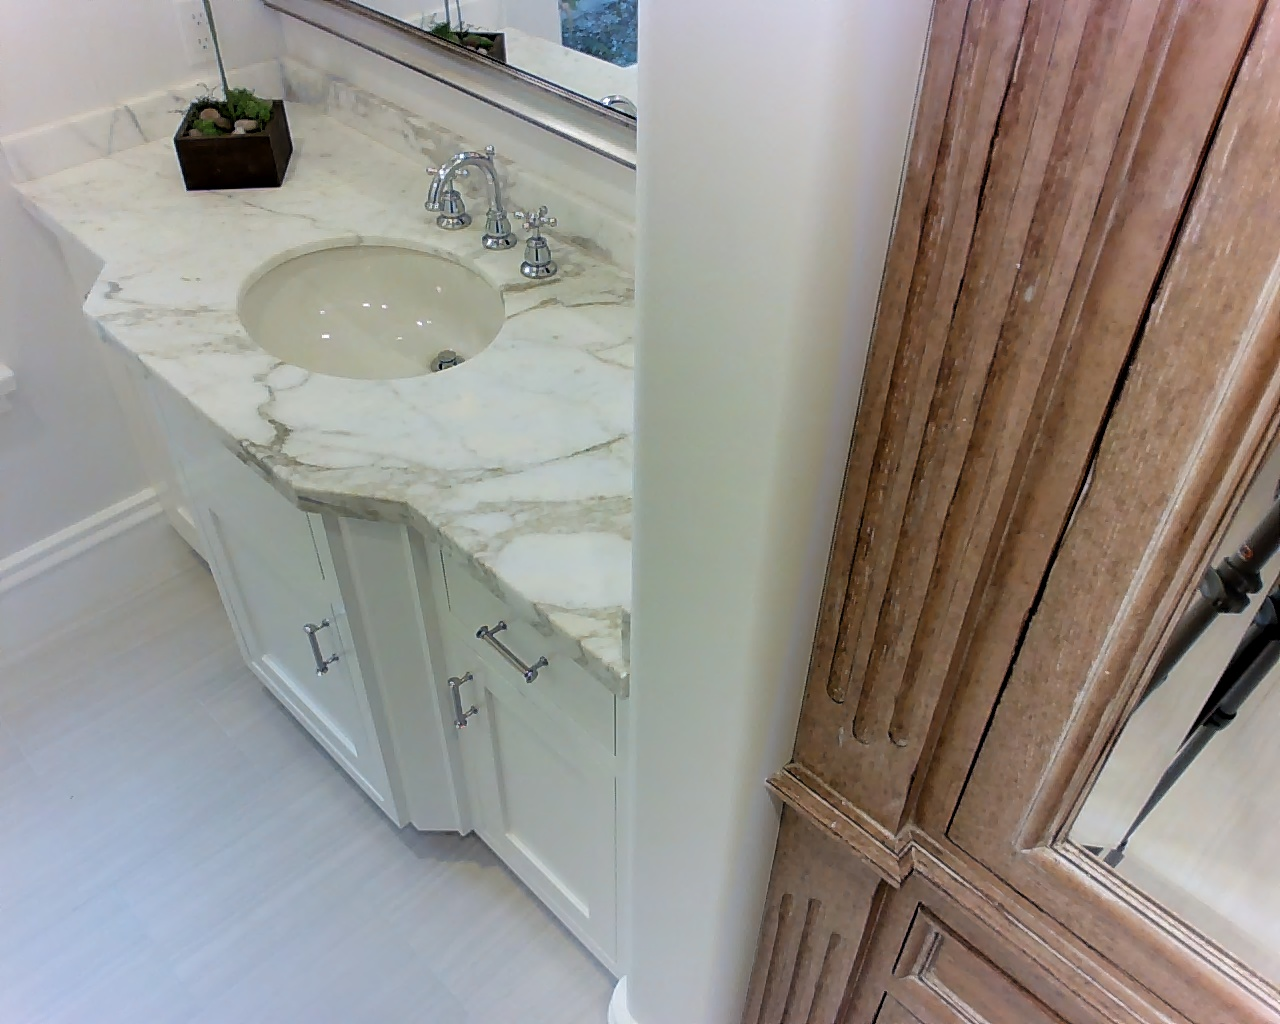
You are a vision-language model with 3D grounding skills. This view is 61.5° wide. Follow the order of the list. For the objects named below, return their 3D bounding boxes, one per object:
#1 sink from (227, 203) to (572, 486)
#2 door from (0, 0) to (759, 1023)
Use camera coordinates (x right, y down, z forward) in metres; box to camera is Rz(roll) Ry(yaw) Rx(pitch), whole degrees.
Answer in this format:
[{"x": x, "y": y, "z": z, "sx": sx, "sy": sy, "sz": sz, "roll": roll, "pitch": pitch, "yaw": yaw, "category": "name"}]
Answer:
[{"x": -0.360, "y": -0.270, "z": 1.630, "sx": 0.420, "sy": 0.170, "sz": 0.300, "roll": 34, "pitch": 52, "yaw": 31, "category": "sink"}, {"x": -0.470, "y": -0.470, "z": 1.120, "sx": 0.180, "sy": 2.710, "sz": 1.380, "roll": -33, "pitch": 52, "yaw": -31, "category": "door"}]
